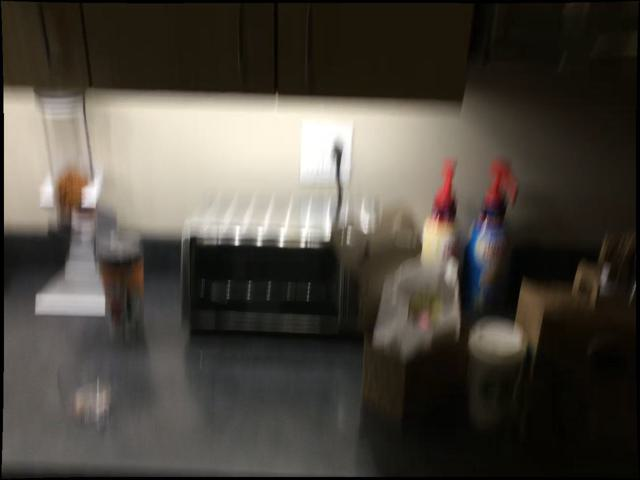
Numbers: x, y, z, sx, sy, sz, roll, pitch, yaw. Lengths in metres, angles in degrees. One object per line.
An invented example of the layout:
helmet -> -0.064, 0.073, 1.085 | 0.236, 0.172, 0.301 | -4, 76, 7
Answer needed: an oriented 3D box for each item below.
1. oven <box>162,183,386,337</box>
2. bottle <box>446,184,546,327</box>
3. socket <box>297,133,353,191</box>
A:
oven -> -0.080, 0.030, 1.220 | 0.409, 0.210, 0.280 | 1, 25, 2
bottle -> 0.369, 0.030, 1.250 | 0.140, 0.250, 0.180 | 1, 25, 2
socket -> 0.010, -0.170, 1.270 | 0.120, 0.120, 0.030 | 1, 25, 2
